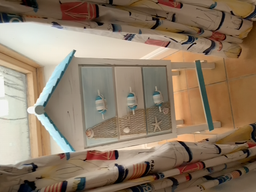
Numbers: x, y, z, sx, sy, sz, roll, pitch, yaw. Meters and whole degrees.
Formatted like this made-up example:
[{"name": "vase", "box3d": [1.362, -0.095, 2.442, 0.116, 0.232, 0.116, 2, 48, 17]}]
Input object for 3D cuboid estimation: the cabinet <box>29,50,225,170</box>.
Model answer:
[{"name": "cabinet", "box3d": [0.030, 0.030, 1.130, 0.360, 0.960, 0.420, -7, 87, 60]}]
